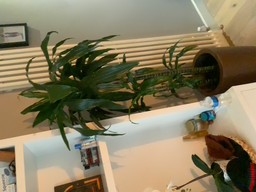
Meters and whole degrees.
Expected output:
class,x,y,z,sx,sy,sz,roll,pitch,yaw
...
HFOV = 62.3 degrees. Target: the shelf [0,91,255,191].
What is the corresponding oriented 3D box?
class,x,y,z,sx,sy,sz,roll,pitch,yaw
shelf,-0.400,0.520,1.040,0.310,2.110,0.730,111,146,-61
